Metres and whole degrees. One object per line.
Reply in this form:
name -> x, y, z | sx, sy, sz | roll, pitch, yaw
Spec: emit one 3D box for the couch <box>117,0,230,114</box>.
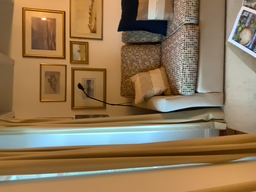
couch -> 0.420, -0.990, 2.460 | 1.160, 0.810, 2.270 | -173, 84, -74
